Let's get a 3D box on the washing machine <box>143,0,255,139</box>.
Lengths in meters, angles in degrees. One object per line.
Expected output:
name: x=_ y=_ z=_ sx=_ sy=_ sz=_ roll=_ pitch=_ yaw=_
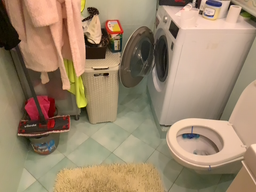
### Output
washing machine: x=0.490 y=-0.210 z=1.790 sx=0.550 sy=0.960 sz=0.620 roll=-2 pitch=40 yaw=-7

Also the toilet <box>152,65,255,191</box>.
toilet: x=0.500 y=0.260 z=1.320 sx=0.550 sy=0.800 sz=0.380 roll=-2 pitch=40 yaw=-7

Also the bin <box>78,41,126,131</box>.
bin: x=-0.220 y=-0.090 z=1.850 sx=0.330 sy=0.610 sz=0.480 roll=-2 pitch=40 yaw=-6
